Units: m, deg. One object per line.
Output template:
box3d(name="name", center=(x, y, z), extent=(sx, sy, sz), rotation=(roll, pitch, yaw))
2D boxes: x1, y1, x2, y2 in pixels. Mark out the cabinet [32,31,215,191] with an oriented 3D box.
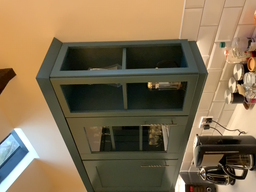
box3d(name="cabinet", center=(0.000, 0.270, 1.620), extent=(1.440, 0.850, 0.360), rotation=(87, -177, -45))
